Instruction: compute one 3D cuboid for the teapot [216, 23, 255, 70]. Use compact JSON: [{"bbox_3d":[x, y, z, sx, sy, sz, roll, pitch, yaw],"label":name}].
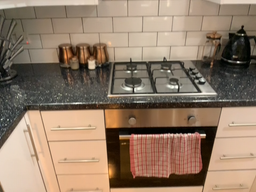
[{"bbox_3d":[0.770,-0.340,1.460,0.230,0.280,0.140,1,29,2],"label":"teapot"}]
